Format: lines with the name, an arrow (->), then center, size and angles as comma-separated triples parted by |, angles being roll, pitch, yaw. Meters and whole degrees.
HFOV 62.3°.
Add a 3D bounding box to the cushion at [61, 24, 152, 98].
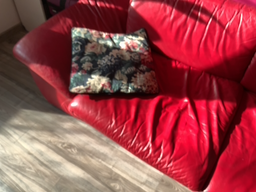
cushion -> -0.100, -0.230, 1.270 | 0.440, 0.110, 0.460 | 8, 50, 3
